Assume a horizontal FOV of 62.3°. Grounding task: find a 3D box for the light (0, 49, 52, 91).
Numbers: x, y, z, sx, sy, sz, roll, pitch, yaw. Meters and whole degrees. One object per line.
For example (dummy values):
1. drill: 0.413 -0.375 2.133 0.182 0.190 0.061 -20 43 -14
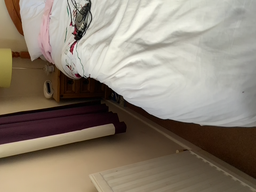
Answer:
1. light: -1.060 -0.250 1.950 0.450 0.590 0.330 21 111 56
